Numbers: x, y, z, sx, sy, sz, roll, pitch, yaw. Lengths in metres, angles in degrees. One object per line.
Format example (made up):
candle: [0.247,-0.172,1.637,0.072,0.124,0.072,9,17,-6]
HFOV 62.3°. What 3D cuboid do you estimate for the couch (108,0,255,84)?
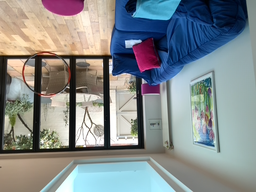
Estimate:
couch: [0.350,-0.790,2.620,1.100,0.860,2.420,0,173,-8]
